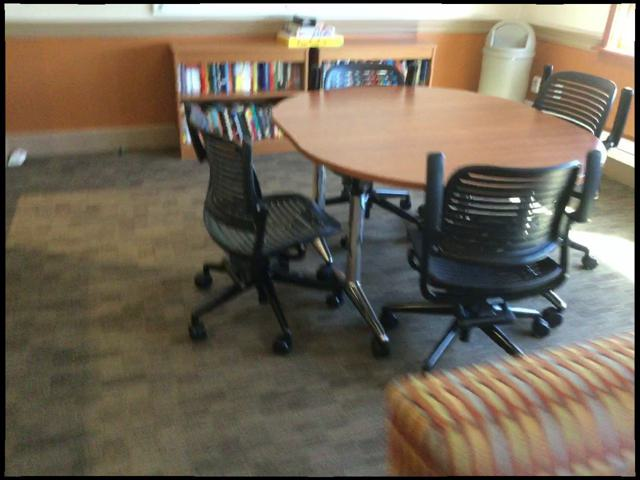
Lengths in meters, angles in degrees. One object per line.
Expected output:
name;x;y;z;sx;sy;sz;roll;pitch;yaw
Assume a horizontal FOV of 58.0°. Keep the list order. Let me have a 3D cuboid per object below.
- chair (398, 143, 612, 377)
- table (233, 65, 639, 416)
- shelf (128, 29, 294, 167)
chair;0.569;0.060;1.970;0.509;0.661;0.420;2;28;1
table;0.439;-0.190;2.520;1.318;0.771;1.490;-8;30;-17
shelf;-0.738;-1.012;4.060;1.048;0.821;0.420;-6;29;-13
